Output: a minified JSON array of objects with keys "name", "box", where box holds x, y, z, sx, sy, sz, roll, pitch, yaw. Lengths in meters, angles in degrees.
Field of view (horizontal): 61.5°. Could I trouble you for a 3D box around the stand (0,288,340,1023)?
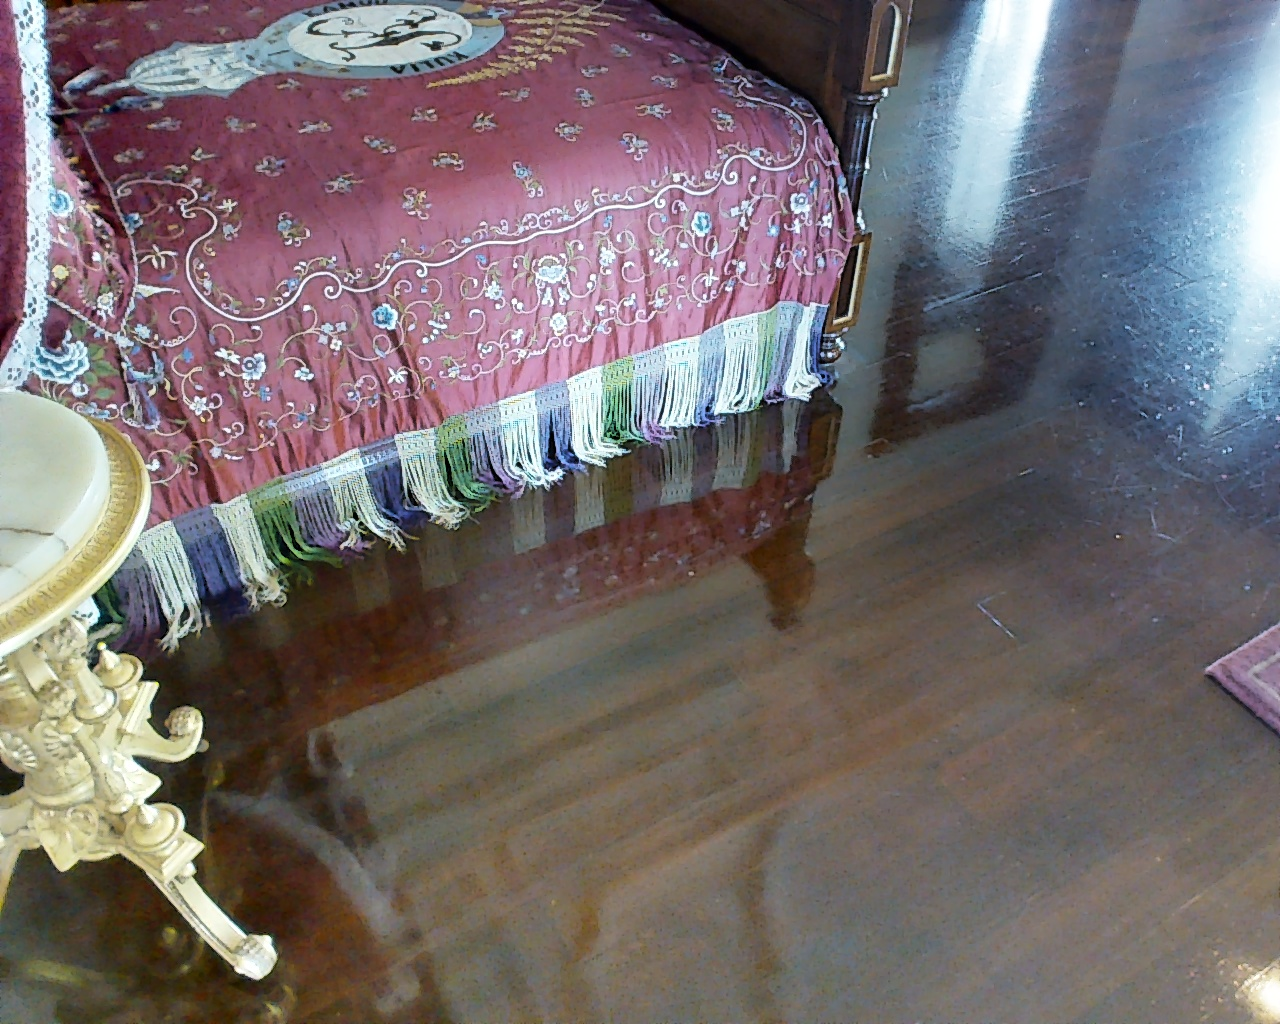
[{"name":"stand","box":[-0.830,0.270,1.400,0.550,0.800,0.620,-21,46,-22]}]
